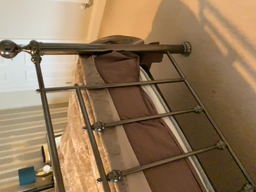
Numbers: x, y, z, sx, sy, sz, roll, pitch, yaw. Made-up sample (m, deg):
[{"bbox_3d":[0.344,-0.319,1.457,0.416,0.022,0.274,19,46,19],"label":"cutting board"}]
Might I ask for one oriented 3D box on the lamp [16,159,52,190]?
[{"bbox_3d":[-1.060,0.890,2.410,0.180,0.340,0.230,65,148,31],"label":"lamp"}]
